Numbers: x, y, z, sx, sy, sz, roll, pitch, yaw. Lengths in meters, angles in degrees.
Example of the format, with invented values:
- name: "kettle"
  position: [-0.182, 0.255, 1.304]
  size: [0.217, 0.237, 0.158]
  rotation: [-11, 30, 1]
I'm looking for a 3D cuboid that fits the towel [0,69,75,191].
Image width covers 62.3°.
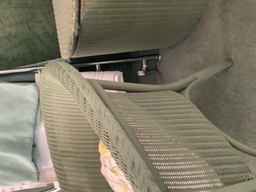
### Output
- name: "towel"
  position: [-0.490, 0.190, 0.930]
  size: [0.180, 0.400, 0.550]
  rotation: [22, 120, 60]
